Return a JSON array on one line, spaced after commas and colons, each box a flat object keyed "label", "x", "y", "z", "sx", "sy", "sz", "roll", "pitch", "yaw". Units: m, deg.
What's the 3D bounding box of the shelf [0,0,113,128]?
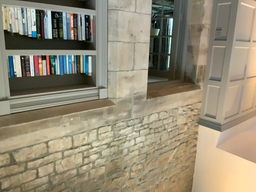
[{"label": "shelf", "x": -0.690, "y": -0.910, "z": 1.860, "sx": 1.050, "sy": 2.160, "sz": 0.440, "roll": -9, "pitch": -162, "yaw": -39}]
